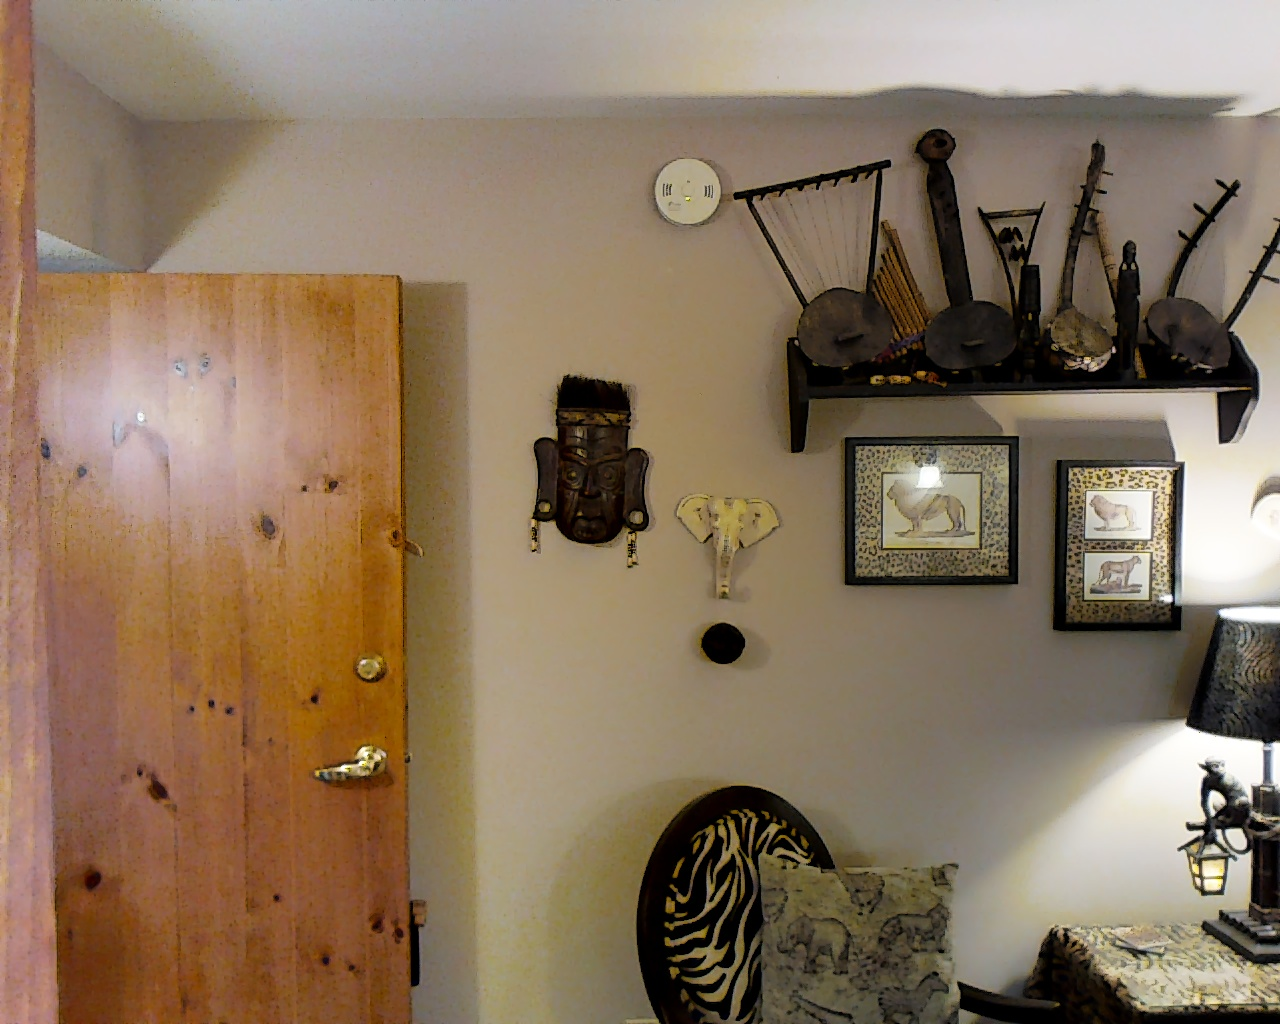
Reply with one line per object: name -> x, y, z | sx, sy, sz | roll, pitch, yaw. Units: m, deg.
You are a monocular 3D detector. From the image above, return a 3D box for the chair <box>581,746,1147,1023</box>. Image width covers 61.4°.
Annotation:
chair -> 0.390, 1.040, 2.010 | 0.690, 0.960, 0.760 | -2, 2, -35
